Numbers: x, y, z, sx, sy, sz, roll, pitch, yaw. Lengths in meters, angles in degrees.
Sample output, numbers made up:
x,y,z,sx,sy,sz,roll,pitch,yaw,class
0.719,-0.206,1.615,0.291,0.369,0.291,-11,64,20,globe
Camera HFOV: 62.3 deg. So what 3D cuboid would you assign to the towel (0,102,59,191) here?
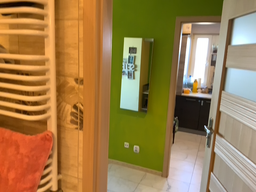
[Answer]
x,y,z,sx,sy,sz,roll,pitch,yaw,class
-0.670,0.310,1.090,0.540,0.490,0.270,7,12,17,towel
